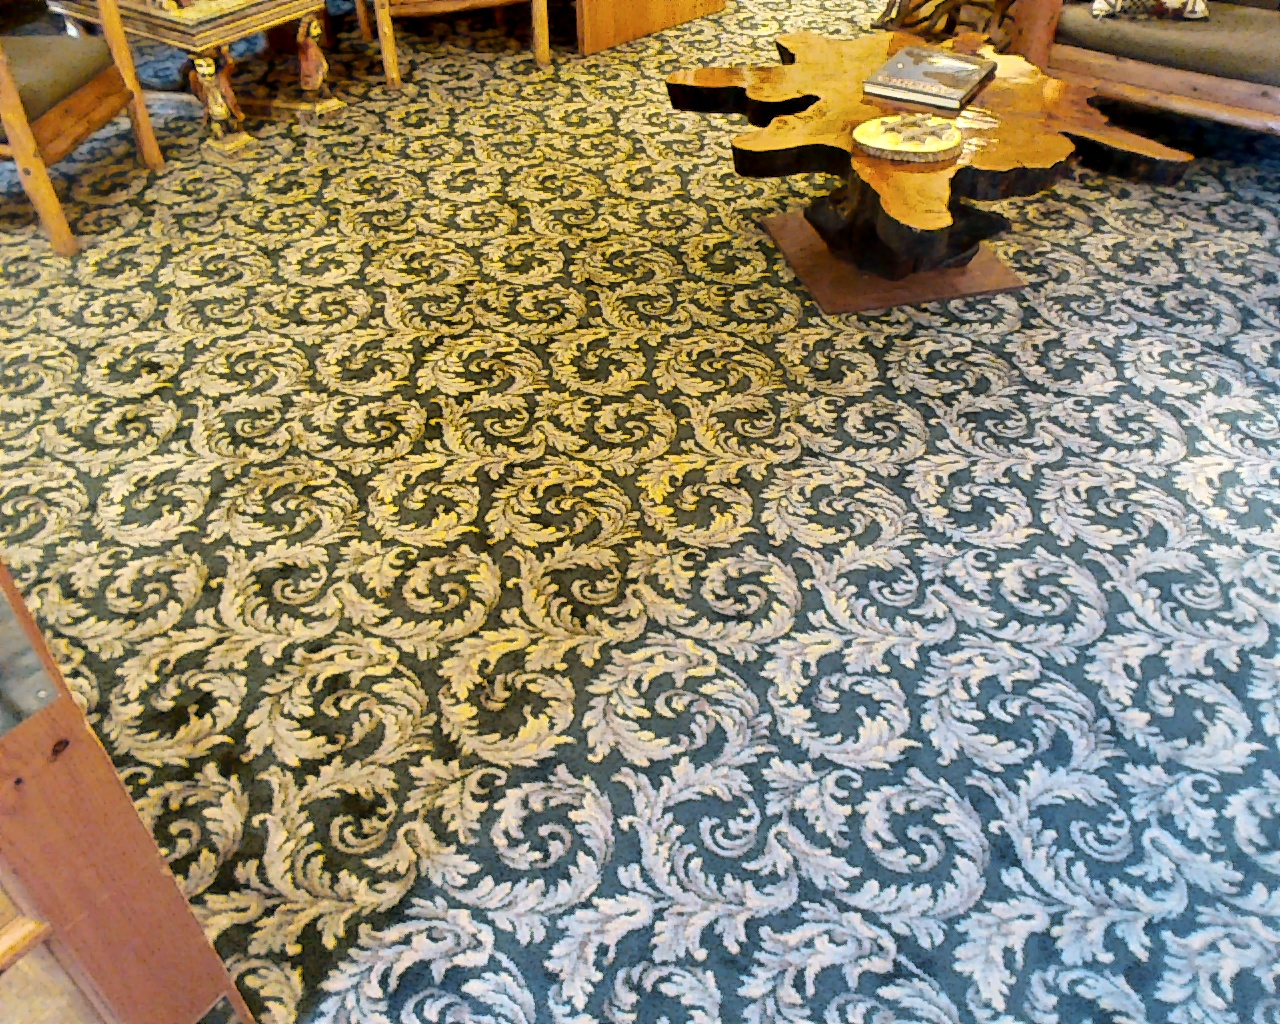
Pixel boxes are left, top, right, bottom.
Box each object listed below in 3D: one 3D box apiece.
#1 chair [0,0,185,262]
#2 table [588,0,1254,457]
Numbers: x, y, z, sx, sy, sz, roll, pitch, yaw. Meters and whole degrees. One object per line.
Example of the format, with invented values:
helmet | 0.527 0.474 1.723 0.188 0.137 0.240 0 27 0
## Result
chair | -2.160 -1.480 3.280 0.920 1.080 0.860 4 41 4
table | 0.690 -0.900 2.960 1.350 0.530 1.520 7 42 8
